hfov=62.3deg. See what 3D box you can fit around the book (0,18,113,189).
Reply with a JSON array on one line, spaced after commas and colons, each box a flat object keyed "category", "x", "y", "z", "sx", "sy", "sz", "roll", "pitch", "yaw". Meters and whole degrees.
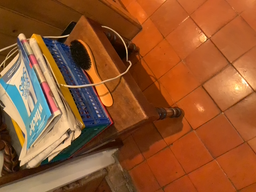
[{"category": "book", "x": -0.320, "y": 0.030, "z": 0.710, "sx": 0.310, "sy": 0.250, "sz": 0.390, "roll": -40, "pitch": 70, "yaw": 22}]
